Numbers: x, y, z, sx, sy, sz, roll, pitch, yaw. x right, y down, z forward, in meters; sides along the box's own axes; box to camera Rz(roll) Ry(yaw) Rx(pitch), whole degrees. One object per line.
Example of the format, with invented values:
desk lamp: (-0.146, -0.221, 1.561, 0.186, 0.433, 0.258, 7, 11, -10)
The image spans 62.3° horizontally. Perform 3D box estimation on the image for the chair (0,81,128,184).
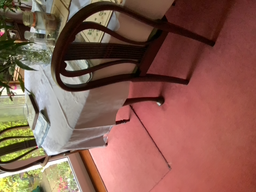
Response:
chair: (-0.630, 0.260, 1.900, 0.530, 1.000, 0.570, 53, 128, 32)
